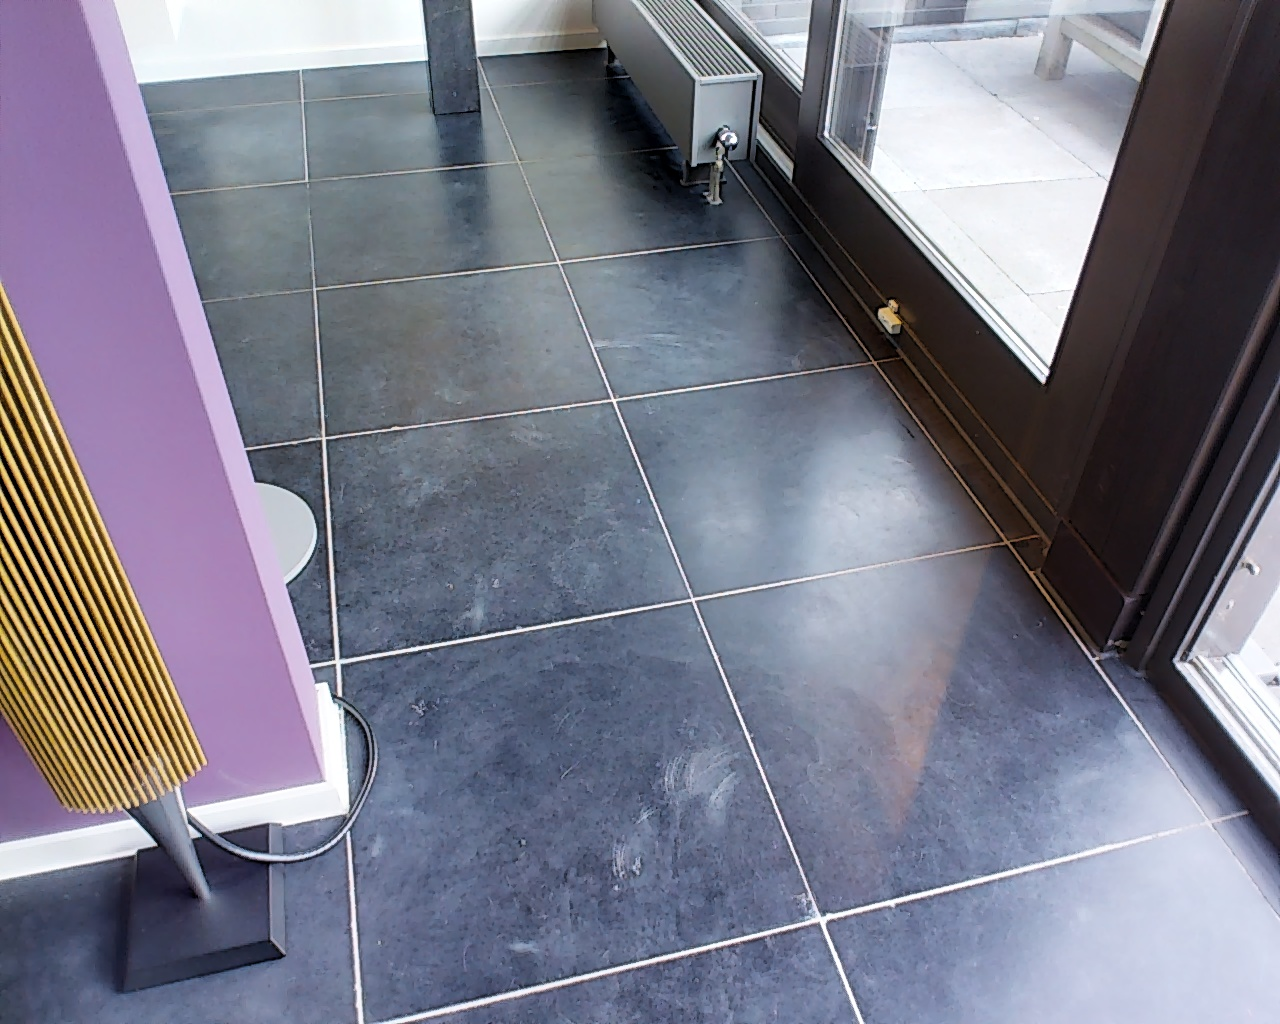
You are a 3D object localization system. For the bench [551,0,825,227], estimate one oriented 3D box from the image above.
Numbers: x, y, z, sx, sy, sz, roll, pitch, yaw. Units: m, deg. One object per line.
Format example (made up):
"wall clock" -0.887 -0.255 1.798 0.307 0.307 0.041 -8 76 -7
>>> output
"bench" 0.080 -1.400 3.340 0.470 0.410 1.320 -9 43 -12
